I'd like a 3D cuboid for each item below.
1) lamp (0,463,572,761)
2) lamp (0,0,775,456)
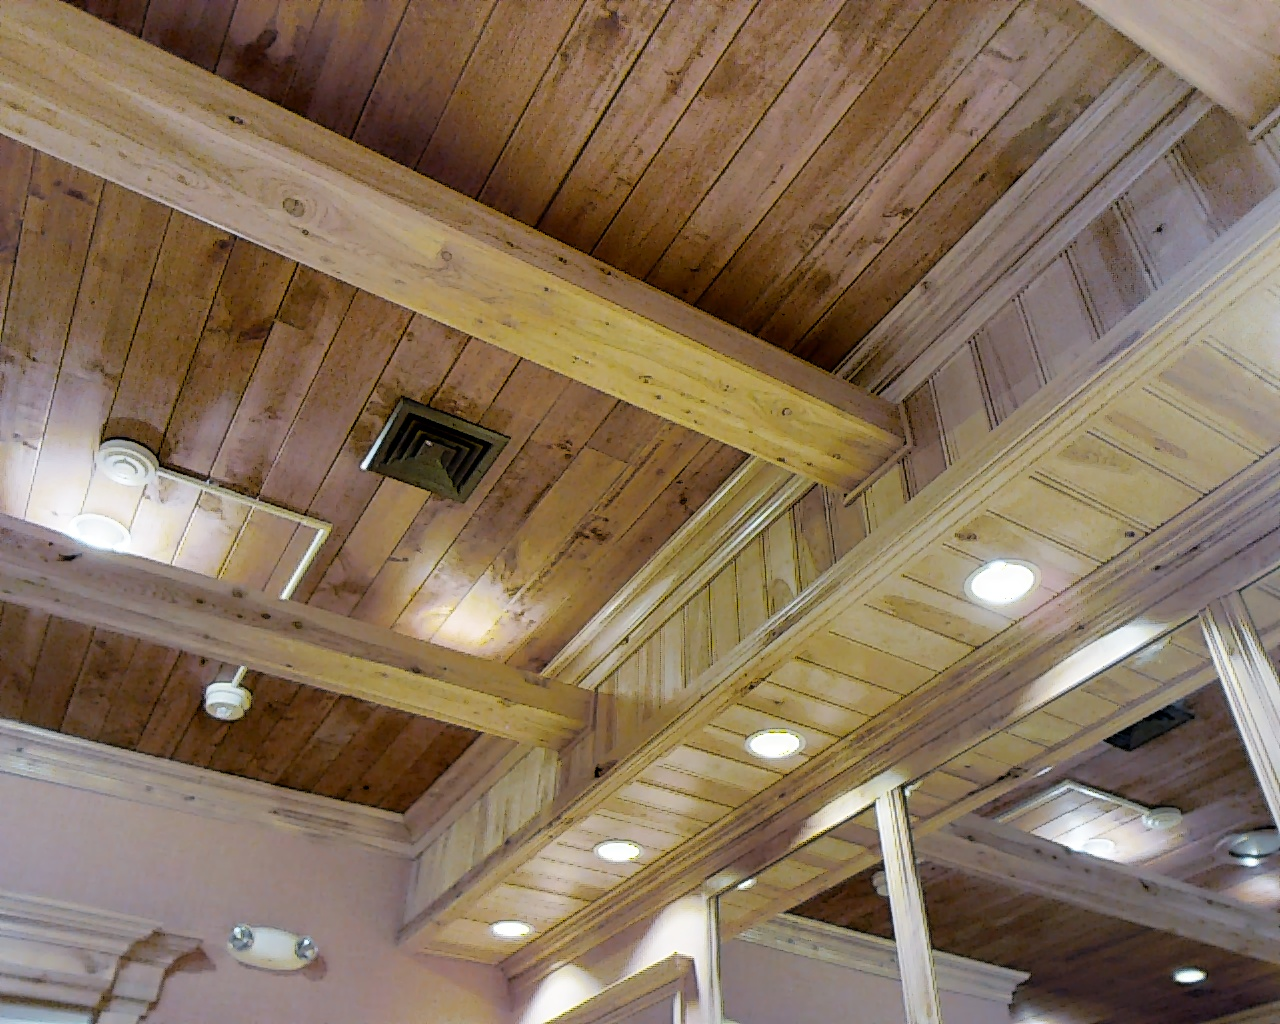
[{"bbox_3d":[-1.549,0.100,2.760,2.949,0.270,0.250,21,-45,-22],"label":"lamp"},{"bbox_3d":[-0.770,-0.660,1.830,2.239,0.260,0.260,21,-44,-22],"label":"lamp"}]
